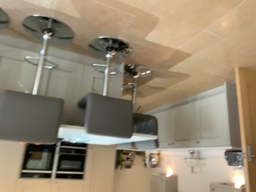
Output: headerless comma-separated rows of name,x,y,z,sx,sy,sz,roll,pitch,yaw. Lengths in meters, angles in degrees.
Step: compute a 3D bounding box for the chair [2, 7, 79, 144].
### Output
chair,-0.720,-0.130,1.810,0.380,1.020,0.450,11,162,-23
